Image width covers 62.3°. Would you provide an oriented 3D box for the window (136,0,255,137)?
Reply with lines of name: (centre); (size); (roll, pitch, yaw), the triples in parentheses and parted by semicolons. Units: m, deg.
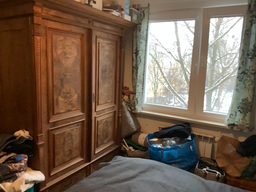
window: (0.830, -0.400, 2.760); (1.470, 1.590, 0.130); (7, 10, 28)
